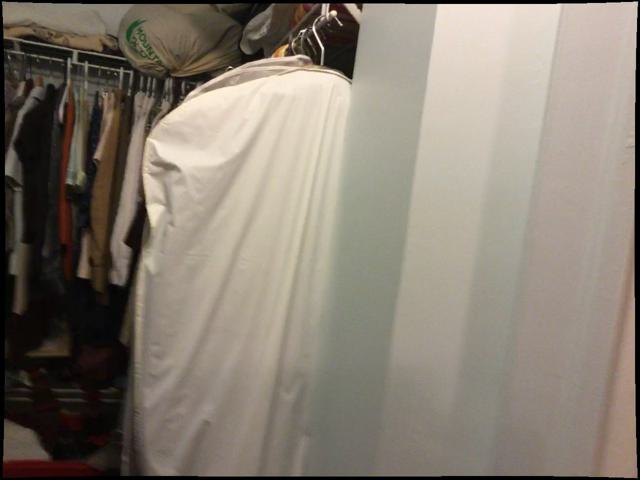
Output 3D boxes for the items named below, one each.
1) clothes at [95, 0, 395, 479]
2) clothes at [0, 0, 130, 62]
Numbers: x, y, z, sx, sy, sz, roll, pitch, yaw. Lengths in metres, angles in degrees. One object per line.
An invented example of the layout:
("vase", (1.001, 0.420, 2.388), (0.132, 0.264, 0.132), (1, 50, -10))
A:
("clothes", (-0.210, 0.380, 1.110), (0.360, 1.521, 0.460), (5, 8, -14))
("clothes", (-0.969, -0.791, 2.100), (0.490, 0.160, 0.350), (5, 8, -14))
